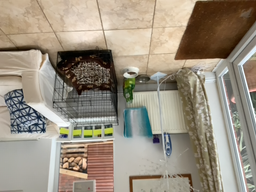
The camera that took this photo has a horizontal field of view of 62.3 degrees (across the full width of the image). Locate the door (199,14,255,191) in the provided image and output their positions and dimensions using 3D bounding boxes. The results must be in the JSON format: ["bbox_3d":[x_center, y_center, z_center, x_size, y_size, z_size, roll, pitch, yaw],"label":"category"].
[{"bbox_3d":[1.240,0.240,1.530,0.100,2.090,2.780,-1,159,-4],"label":"door"}]
